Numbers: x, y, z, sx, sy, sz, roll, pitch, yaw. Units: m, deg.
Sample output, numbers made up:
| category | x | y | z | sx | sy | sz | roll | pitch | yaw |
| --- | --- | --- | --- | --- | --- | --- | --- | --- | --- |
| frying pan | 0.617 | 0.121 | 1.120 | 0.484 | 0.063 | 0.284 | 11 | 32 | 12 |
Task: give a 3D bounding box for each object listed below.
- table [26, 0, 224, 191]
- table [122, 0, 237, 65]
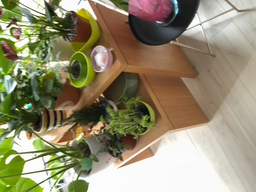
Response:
| category | x | y | z | sx | sy | sz | roll | pitch | yaw |
| --- | --- | --- | --- | --- | --- | --- | --- | --- | --- |
| table | -0.060 | 0.020 | 1.220 | 0.730 | 0.630 | 0.650 | -42 | 64 | 35 |
| table | 0.260 | -0.390 | 1.060 | 0.300 | 0.410 | 0.300 | -42 | 64 | 35 |
